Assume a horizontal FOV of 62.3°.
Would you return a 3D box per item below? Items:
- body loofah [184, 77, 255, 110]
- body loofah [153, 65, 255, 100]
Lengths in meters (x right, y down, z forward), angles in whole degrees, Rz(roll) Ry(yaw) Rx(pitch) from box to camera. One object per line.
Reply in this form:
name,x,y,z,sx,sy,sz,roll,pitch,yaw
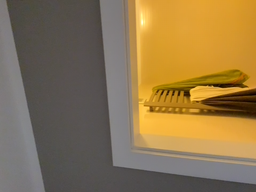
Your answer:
body loofah,0.930,-0.030,1.840,0.250,0.850,0.200,-52,-39,-66
body loofah,0.860,-0.150,2.110,0.250,1.180,0.270,-52,-38,-65
